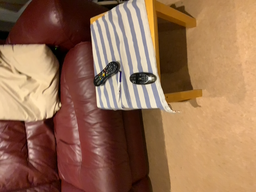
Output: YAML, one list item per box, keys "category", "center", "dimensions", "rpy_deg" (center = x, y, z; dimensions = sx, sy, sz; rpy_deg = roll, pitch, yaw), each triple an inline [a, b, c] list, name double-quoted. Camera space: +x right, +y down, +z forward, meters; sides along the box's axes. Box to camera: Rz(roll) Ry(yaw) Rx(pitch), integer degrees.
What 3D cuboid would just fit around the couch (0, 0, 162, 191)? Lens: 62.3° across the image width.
- category: "couch"
  center: [-0.490, 0.590, 1.390]
  dimensions: [1.070, 0.920, 2.110]
  rpy_deg: [-8, 89, 40]
